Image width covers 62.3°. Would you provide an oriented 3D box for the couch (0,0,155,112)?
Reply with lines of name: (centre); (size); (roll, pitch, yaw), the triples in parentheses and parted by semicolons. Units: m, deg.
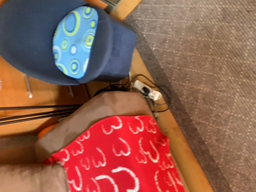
couch: (-0.350, -0.290, 1.270); (0.600, 0.680, 0.520); (-37, 68, 30)
